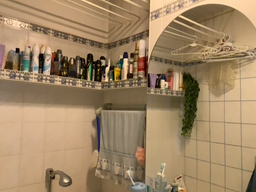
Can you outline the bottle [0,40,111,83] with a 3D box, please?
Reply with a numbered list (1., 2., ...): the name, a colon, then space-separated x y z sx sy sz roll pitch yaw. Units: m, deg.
1. bottle: -0.590 -0.220 1.340 1.120 0.140 0.130 5 -5 -43
